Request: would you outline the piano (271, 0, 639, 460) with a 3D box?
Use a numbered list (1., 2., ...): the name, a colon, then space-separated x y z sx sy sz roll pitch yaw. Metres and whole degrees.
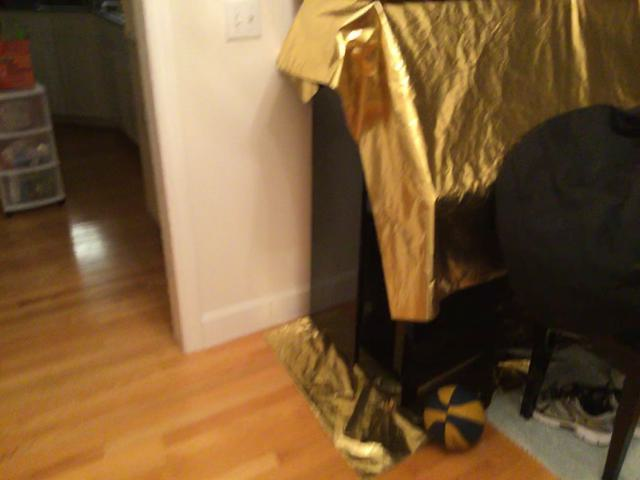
1. piano: 0.730 -0.220 1.970 1.610 1.210 0.640 -14 29 -25
